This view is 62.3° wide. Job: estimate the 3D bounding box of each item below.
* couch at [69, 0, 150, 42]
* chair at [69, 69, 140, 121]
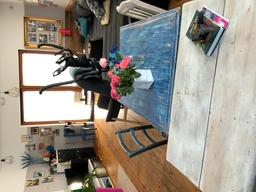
[{"bbox_3d":[-0.730,-1.870,4.870,3.840,0.830,0.950,-155,66,-67],"label":"couch"},{"bbox_3d":[-0.450,-0.050,3.780,0.630,1.100,0.770,-148,60,-65],"label":"chair"}]
